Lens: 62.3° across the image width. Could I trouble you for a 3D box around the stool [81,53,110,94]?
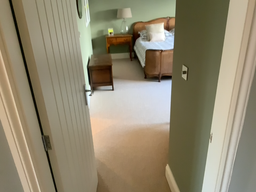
[{"bbox_3d":[-0.630,-0.480,4.270,0.470,0.530,0.900,-4,25,-5],"label":"stool"}]
